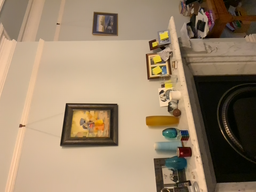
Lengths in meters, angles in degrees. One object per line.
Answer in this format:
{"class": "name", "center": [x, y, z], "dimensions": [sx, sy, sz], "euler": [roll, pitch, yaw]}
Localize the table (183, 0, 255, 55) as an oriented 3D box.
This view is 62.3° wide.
{"class": "table", "center": [1.250, -1.170, 2.800], "dimensions": [0.640, 0.740, 1.060], "euler": [92, 176, -62]}
